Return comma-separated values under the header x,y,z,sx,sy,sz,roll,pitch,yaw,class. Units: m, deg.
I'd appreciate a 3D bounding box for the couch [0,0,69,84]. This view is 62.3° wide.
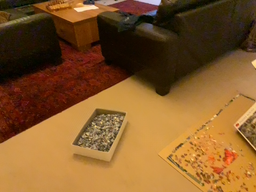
x,y,z,sx,sy,sz,roll,pitch,yaw,class
-1.620,-0.860,2.490,1.520,0.760,1.020,30,47,35,couch

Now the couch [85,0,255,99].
x,y,z,sx,sy,sz,roll,pitch,yaw,class
0.660,-0.920,2.420,1.960,0.780,1.040,-29,44,-31,couch
